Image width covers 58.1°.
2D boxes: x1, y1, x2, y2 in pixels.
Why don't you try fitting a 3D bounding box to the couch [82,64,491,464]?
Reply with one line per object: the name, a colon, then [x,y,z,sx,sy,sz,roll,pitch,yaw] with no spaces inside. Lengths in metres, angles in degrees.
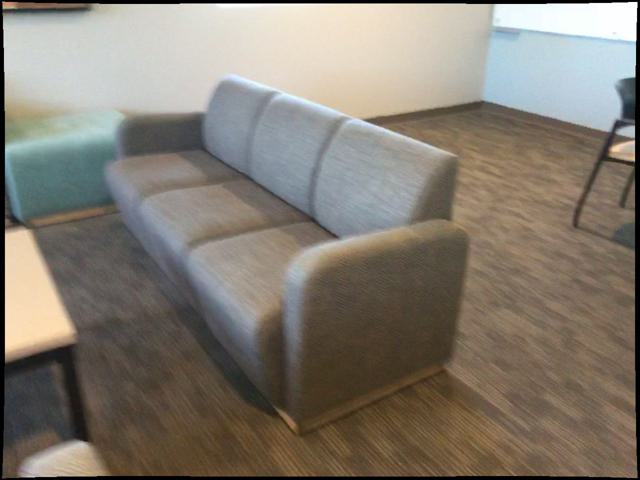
couch: [-0.319,-0.150,2.450,0.779,0.812,1.909,-17,31,-28]
